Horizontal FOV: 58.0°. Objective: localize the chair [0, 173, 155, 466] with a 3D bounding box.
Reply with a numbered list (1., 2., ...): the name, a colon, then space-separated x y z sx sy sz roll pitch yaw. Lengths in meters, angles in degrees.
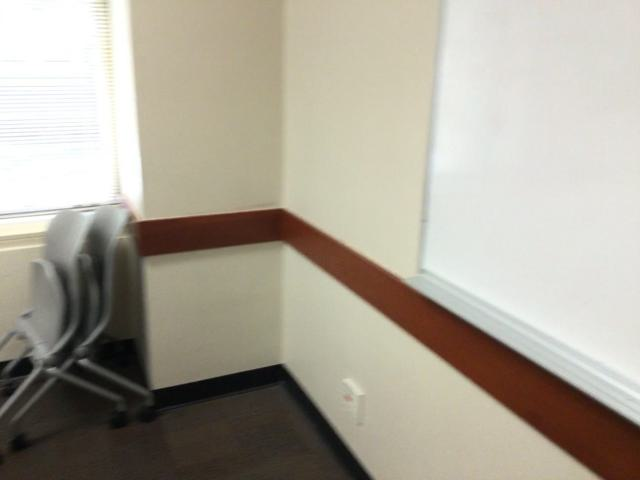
1. chair: -1.130 0.260 2.290 0.780 0.940 0.650 -4 18 -29
